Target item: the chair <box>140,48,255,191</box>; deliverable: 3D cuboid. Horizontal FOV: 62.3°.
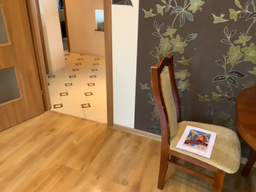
[{"bbox_3d":[0.470,0.230,1.480,0.590,0.960,0.470,14,29,22],"label":"chair"}]
